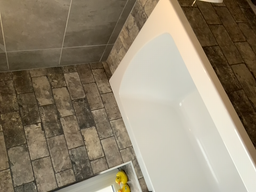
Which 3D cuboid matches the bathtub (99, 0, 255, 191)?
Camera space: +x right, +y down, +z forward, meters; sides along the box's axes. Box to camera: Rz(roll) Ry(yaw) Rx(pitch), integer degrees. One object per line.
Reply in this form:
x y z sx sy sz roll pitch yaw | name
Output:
0.560 0.510 1.080 0.810 0.560 2.230 -47 60 55 | bathtub
